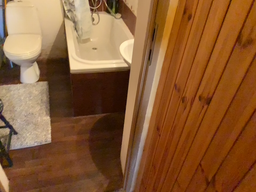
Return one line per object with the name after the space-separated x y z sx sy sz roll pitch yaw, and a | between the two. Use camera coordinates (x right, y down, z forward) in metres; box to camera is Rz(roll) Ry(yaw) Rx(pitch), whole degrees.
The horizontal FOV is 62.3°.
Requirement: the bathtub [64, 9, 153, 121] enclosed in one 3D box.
-0.320 -0.460 2.420 0.690 0.580 1.400 -5 41 -15 | bathtub

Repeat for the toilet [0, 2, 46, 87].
-1.110 -0.560 2.290 0.320 0.700 0.560 -7 41 -17 | toilet
